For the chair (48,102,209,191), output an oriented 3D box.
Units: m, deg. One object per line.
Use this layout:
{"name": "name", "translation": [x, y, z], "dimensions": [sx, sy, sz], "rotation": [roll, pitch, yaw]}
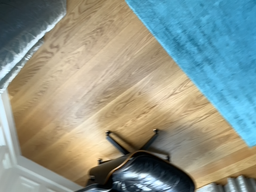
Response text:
{"name": "chair", "translation": [-0.010, 0.770, 1.550], "dimensions": [0.840, 0.820, 0.880], "rotation": [35, 120, -26]}
